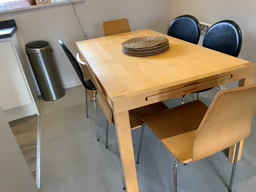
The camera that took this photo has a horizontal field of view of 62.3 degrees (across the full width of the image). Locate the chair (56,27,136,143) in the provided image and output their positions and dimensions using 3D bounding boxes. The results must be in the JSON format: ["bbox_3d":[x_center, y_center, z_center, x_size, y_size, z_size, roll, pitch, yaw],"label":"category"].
[{"bbox_3d":[-0.270,-0.110,1.890,0.490,0.840,0.430,-14,29,-14],"label":"chair"}]

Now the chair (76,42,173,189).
[{"bbox_3d":[0.000,0.120,1.430,0.460,0.810,0.380,-16,29,-16],"label":"chair"}]

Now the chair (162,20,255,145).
[{"bbox_3d":[0.620,-0.120,1.720,0.530,0.830,0.390,-15,29,-15],"label":"chair"}]

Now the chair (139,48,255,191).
[{"bbox_3d":[0.400,0.250,1.100,0.420,0.810,0.540,-17,30,-18],"label":"chair"}]
